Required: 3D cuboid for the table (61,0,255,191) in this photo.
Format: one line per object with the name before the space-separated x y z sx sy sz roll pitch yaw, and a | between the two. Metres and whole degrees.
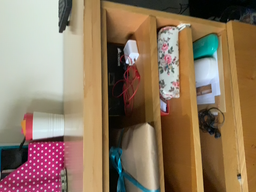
table | 0.130 -0.370 0.860 0.550 0.720 1.570 158 112 -68
